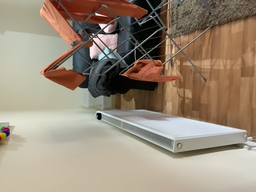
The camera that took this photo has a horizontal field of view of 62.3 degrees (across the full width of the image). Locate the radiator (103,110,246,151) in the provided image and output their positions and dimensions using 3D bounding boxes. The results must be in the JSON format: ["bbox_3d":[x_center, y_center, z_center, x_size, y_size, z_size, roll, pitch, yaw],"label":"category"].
[{"bbox_3d":[0.310,0.240,1.850,1.000,0.760,0.120,-172,84,-64],"label":"radiator"}]
